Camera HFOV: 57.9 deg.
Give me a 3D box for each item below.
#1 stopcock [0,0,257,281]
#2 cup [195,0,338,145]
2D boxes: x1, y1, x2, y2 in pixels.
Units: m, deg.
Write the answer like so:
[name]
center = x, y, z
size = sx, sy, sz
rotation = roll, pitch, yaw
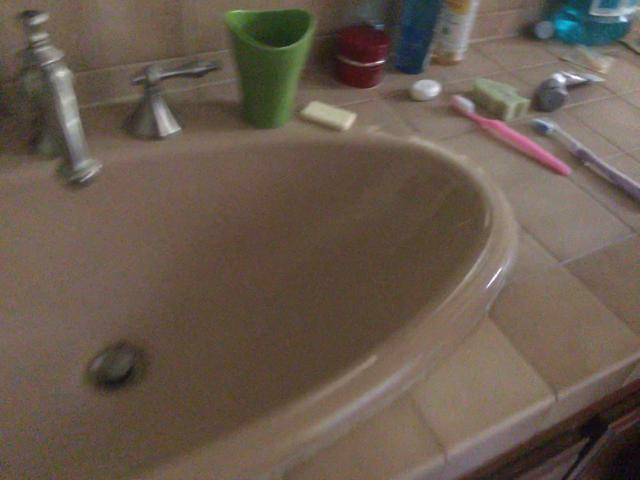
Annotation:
[stopcock]
center = -0.220, -0.180, 0.540
size = 0.170, 0.390, 0.190
rotation = -18, -44, -25
[cup]
center = -0.060, -0.190, 0.630
size = 0.110, 0.110, 0.110
rotation = -18, -44, -24
